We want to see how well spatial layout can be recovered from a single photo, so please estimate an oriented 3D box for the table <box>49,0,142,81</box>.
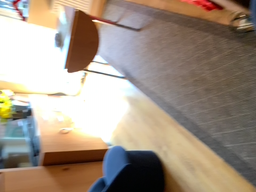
[{"bbox_3d":[-0.410,-0.640,2.420,0.720,0.720,0.590,47,123,48],"label":"table"}]
